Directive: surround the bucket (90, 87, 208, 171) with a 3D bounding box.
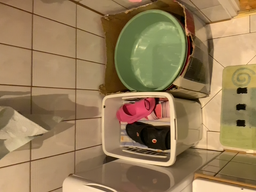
[{"bbox_3d":[0.140,0.140,1.260,0.500,0.500,0.360,2,90,36],"label":"bucket"}]
